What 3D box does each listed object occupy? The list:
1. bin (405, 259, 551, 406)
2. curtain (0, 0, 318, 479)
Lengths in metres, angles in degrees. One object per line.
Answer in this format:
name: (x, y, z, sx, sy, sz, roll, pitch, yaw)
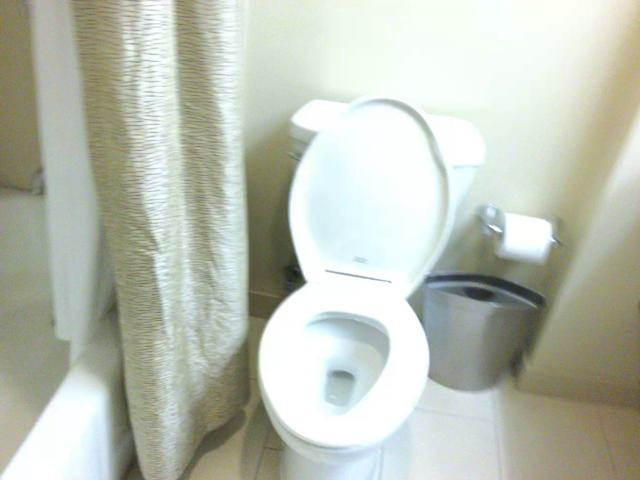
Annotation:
bin: (0.430, 0.260, 1.630, 0.320, 0.320, 0.170, 10, 33, 8)
curtain: (-0.340, -0.290, 1.140, 0.510, 1.610, 0.700, 10, 33, 8)
